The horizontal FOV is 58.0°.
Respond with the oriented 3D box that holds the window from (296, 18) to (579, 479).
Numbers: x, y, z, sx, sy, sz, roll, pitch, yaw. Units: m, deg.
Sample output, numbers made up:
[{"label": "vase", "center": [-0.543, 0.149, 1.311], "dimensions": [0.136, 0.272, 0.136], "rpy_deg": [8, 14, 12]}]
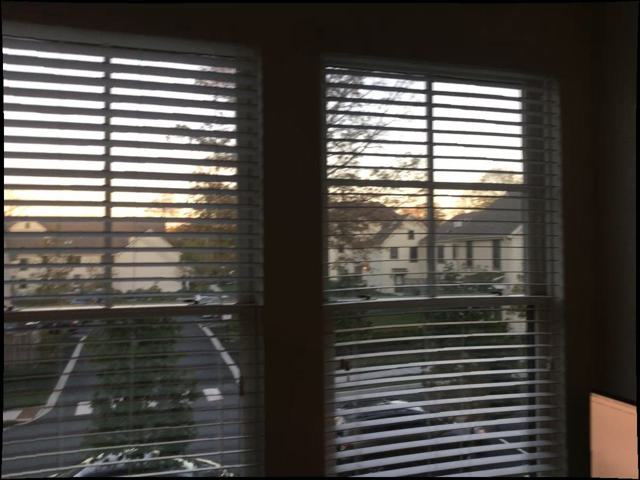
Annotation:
[{"label": "window", "center": [0.409, 0.261, 1.900], "dimensions": [0.948, 1.844, 0.120], "rpy_deg": [-1, 2, -15]}]
